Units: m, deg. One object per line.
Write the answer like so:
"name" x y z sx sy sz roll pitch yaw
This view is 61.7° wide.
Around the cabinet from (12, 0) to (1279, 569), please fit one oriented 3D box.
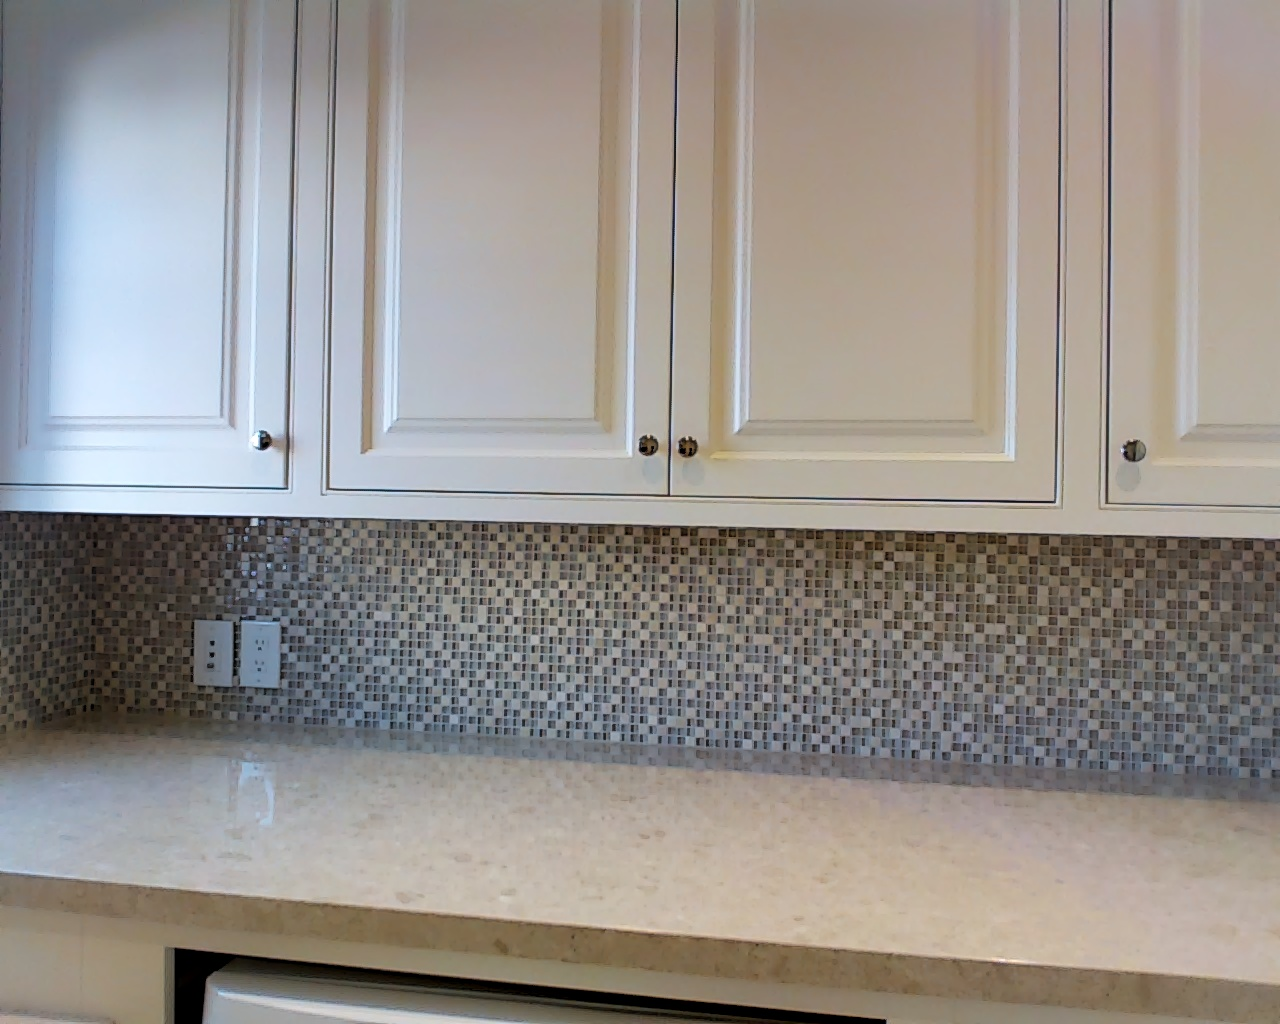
"cabinet" 0.120 -0.430 1.570 2.279 0.990 0.070 1 -1 10
